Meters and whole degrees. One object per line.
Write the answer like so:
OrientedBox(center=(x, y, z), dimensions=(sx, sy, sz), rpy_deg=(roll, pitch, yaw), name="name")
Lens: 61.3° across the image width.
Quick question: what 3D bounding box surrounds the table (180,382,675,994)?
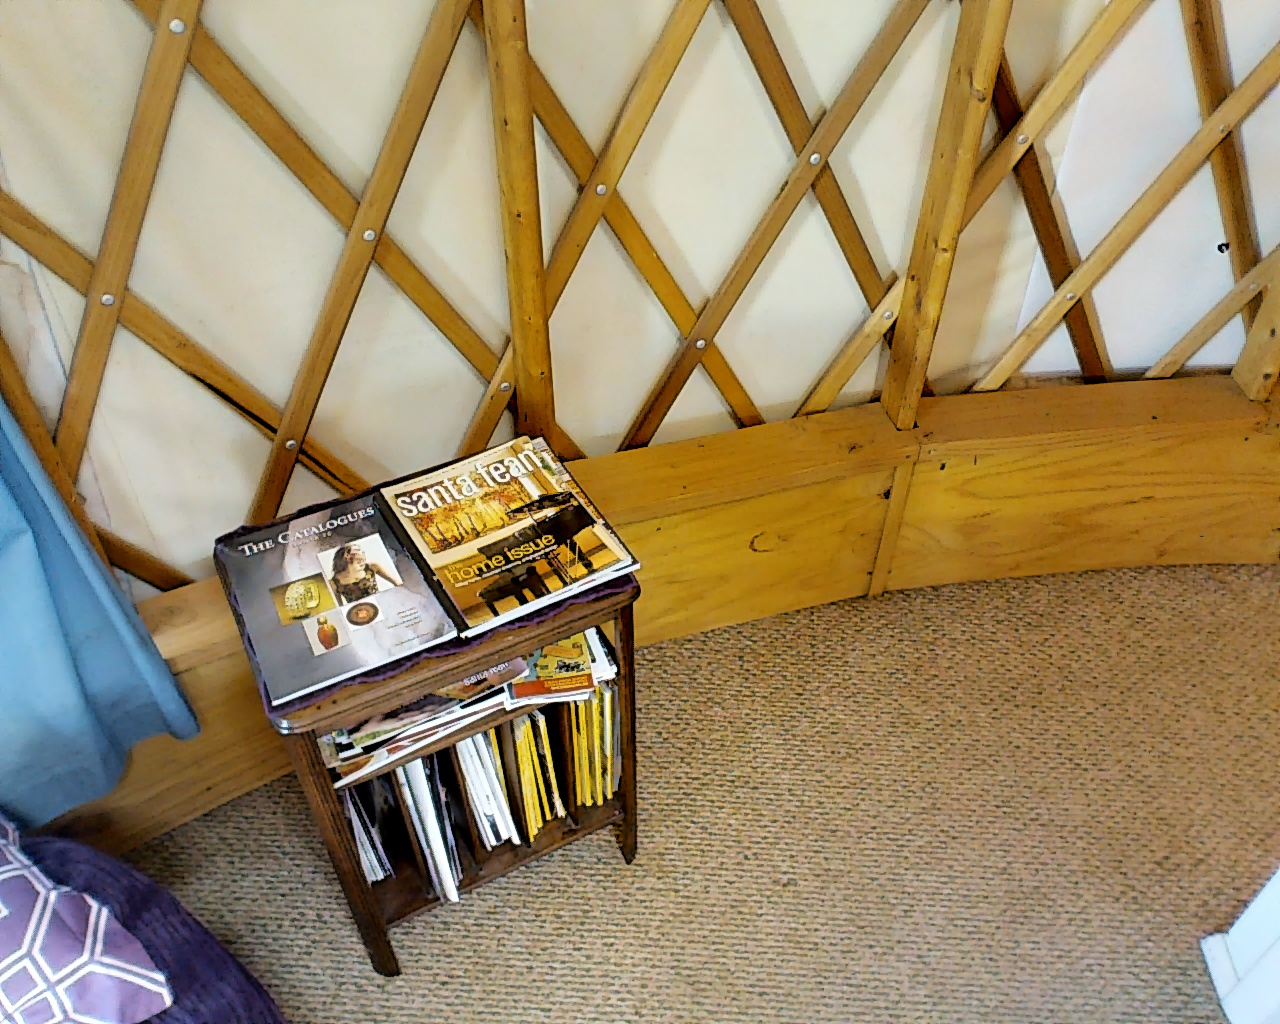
OrientedBox(center=(-0.280, 0.250, 1.560), dimensions=(0.500, 0.630, 0.440), rpy_deg=(-18, 46, -19), name="table")
